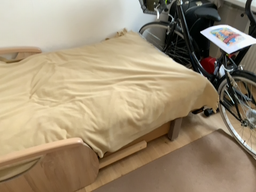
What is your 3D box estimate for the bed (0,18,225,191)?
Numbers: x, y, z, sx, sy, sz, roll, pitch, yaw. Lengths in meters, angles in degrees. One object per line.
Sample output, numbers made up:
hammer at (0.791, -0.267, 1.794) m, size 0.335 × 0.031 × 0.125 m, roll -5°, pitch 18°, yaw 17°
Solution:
bed at (-0.500, 0.030, 1.640) m, size 1.950 × 0.540 × 1.180 m, roll -18°, pitch 44°, yaw -20°
